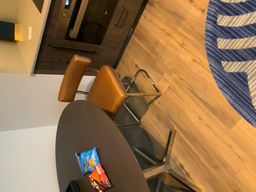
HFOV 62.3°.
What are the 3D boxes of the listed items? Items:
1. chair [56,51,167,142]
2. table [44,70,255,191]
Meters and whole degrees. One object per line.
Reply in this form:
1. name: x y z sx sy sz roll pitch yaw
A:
1. chair: -0.150 0.000 1.850 0.510 0.680 0.480 -53 54 35
2. table: 0.020 0.630 1.640 1.240 0.730 1.080 53 127 33
